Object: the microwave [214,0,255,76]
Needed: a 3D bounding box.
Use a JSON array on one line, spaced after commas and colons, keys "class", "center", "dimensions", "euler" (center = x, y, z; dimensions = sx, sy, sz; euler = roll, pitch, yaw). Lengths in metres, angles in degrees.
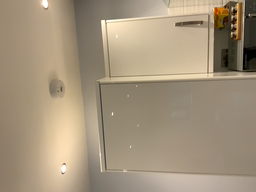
[{"class": "microwave", "center": [0.850, -0.400, 1.520], "dimensions": [0.250, 0.380, 0.490], "euler": [-34, -58, -78]}]
